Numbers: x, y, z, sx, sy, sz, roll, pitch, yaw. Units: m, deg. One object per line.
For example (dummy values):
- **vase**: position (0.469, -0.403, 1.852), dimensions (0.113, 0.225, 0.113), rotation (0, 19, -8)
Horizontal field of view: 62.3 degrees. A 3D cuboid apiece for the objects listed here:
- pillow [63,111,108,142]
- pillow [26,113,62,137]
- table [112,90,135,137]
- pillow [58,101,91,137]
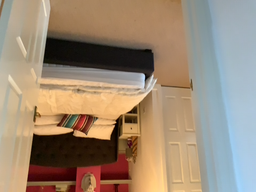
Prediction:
- **pillow**: position (-0.760, 0.550, 3.800), dimensions (0.760, 0.480, 0.190), rotation (6, -150, -8)
- **pillow**: position (-1.430, 0.510, 3.660), dimensions (0.520, 0.400, 0.210), rotation (4, -129, -12)
- **table**: position (-0.100, 0.360, 4.130), dimensions (0.340, 0.530, 0.790), rotation (3, -108, -12)
- **pillow**: position (-0.890, 0.380, 3.520), dimensions (0.460, 0.420, 0.230), rotation (-19, -135, -36)
